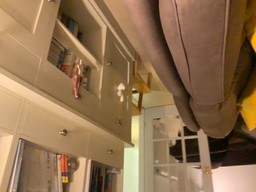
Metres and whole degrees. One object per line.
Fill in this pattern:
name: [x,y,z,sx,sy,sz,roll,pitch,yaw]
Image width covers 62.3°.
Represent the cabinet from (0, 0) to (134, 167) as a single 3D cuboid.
cabinet: [-0.450,-0.210,1.290,0.460,1.030,1.470,-9,152,21]
